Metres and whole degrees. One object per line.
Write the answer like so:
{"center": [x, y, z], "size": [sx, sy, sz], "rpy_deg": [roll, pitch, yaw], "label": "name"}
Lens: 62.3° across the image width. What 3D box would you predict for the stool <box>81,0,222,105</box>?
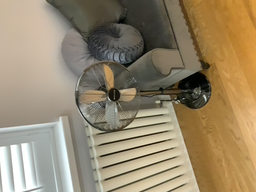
{"center": [0.070, -0.670, 1.520], "size": [0.480, 0.630, 1.360], "rpy_deg": [-30, 69, 49], "label": "stool"}
